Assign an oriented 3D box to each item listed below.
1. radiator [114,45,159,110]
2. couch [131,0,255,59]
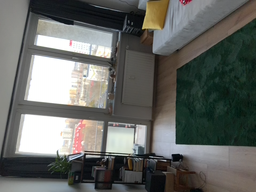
[{"bbox_3d":[0.180,-0.350,4.070,0.140,0.820,1.140,146,129,-69],"label":"radiator"},{"bbox_3d":[0.740,-1.320,2.850,2.360,0.650,0.960,161,115,-72],"label":"couch"}]
